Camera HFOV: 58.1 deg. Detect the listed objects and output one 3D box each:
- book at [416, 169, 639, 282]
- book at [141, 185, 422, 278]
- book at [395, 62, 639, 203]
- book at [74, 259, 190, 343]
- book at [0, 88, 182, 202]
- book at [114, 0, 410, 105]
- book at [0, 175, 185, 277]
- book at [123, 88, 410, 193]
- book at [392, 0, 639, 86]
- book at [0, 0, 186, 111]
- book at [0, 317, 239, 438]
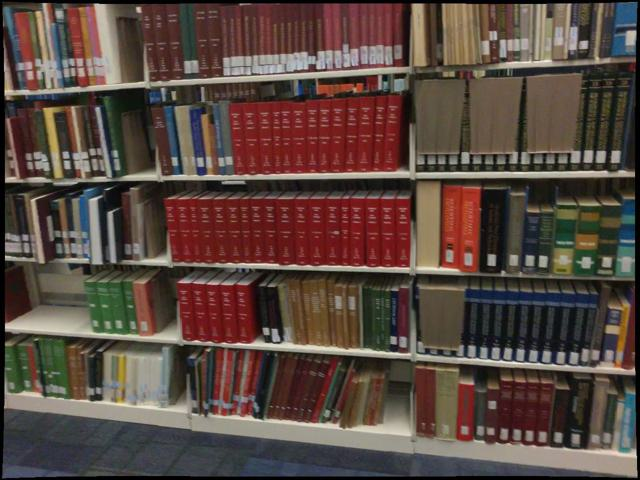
[{"bbox_3d":[0.718,-0.050,1.940,0.758,0.311,0.250,-1,16,13],"label":"book"},{"bbox_3d":[-0.140,-0.030,2.160,1.008,0.281,0.220,-1,16,13],"label":"book"},{"bbox_3d":[0.658,-0.351,1.890,0.778,0.391,0.270,-1,16,13],"label":"book"},{"bbox_3d":[-0.788,0.251,2.460,0.329,0.261,0.300,-1,16,13],"label":"book"},{"bbox_3d":[-1.107,-0.391,2.370,0.928,0.381,0.400,-1,16,13],"label":"book"},{"bbox_3d":[-0.199,-0.652,1.930,0.978,0.321,0.110,-1,16,13],"label":"book"},{"bbox_3d":[-1.027,-0.060,2.370,0.828,0.331,0.320,-1,16,13],"label":"book"},{"bbox_3d":[-0.190,-0.351,2.070,0.998,0.301,0.180,-1,16,13],"label":"book"},{"bbox_3d":[0.698,-0.682,1.710,0.938,0.361,0.220,-1,16,13],"label":"book"},{"bbox_3d":[-1.077,-0.742,2.290,0.918,0.411,0.430,-1,16,13],"label":"book"},{"bbox_3d":[-0.938,0.592,2.580,1.057,0.371,0.320,-1,16,13],"label":"book"}]
